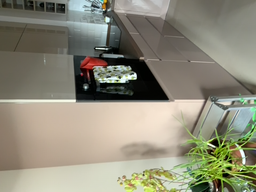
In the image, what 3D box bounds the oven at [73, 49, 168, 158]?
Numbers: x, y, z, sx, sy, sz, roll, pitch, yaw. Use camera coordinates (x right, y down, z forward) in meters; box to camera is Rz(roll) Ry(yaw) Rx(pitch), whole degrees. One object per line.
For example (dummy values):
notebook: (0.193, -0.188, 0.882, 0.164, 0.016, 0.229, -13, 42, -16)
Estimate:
oven: (-0.130, 0.050, 1.690, 0.550, 0.570, 0.620, -111, 27, -50)
